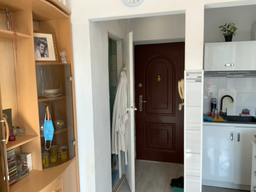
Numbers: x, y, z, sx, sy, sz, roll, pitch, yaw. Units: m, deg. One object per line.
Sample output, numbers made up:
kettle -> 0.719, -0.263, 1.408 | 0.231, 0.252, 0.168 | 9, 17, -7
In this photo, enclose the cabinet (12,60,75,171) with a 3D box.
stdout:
cabinet -> -0.760, 0.150, 1.960 | 0.360, 0.930, 0.340 | 1, 7, 16
